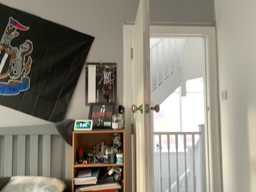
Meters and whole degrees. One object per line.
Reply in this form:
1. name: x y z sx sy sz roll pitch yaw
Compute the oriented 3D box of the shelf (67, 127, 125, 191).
1. shelf: -0.260 0.810 1.840 0.460 1.040 0.330 0 -3 -3
